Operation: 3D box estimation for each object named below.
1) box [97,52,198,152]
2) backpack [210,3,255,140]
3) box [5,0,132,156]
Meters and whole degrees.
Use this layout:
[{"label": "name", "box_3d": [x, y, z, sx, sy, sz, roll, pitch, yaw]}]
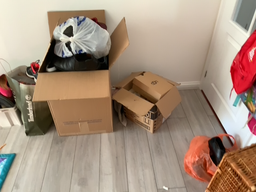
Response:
[{"label": "box", "box_3d": [0.160, 0.010, 1.790, 0.530, 0.400, 0.610, 30, 49, 29]}, {"label": "backpack", "box_3d": [0.710, -0.140, 1.210, 0.160, 0.600, 0.500, -1, 41, -2]}, {"label": "box", "box_3d": [-0.280, -0.130, 1.540, 0.580, 0.930, 0.690, 0, 41, -1]}]
